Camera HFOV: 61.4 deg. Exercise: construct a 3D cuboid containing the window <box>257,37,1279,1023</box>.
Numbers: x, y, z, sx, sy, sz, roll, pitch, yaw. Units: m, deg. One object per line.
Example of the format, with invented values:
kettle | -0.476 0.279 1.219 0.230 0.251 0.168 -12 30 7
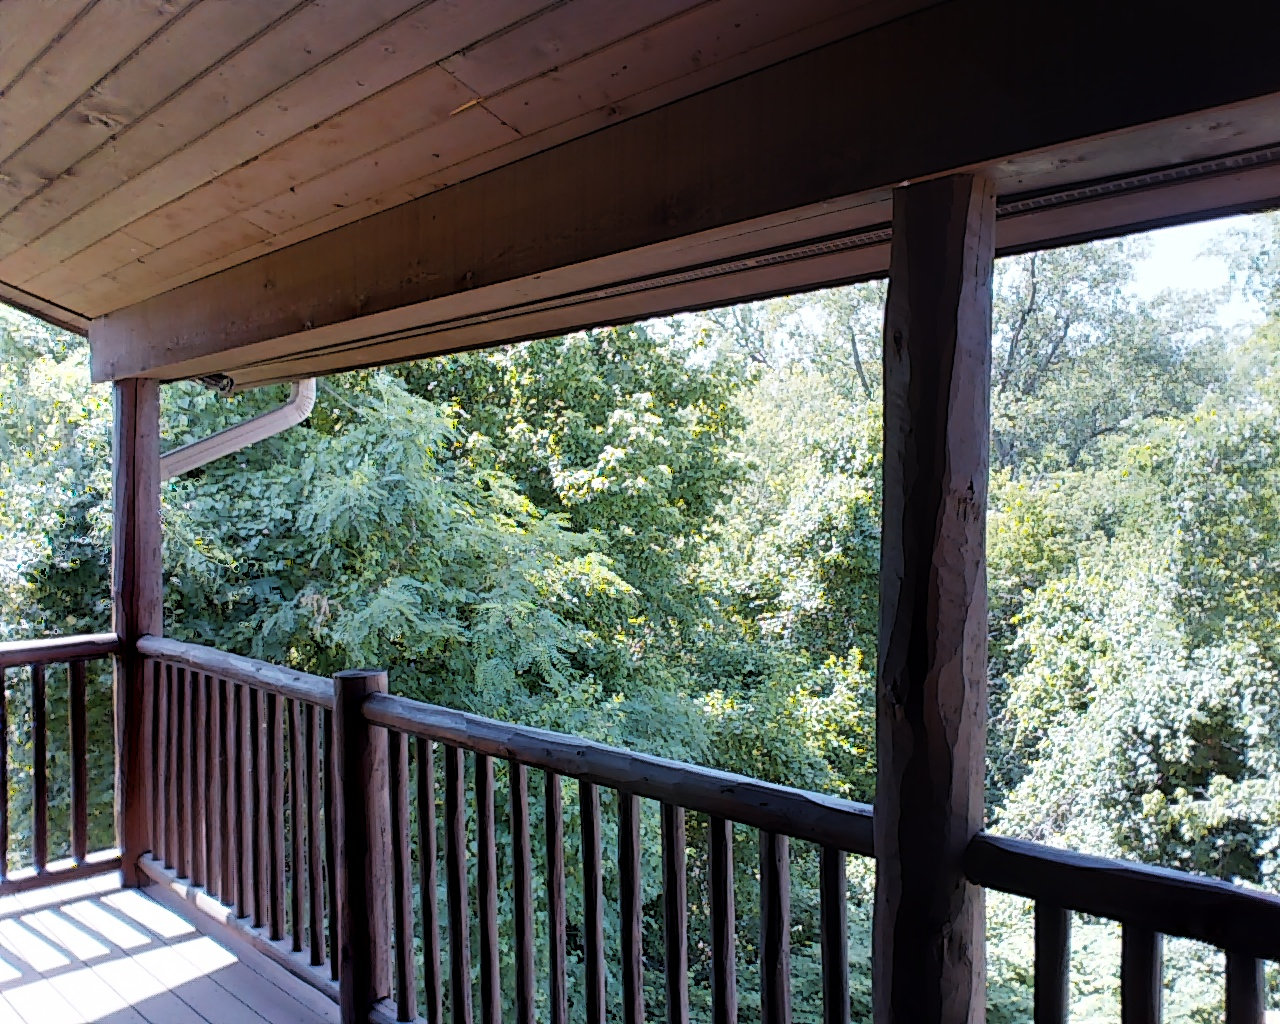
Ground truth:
window | 0.970 0.490 1.390 0.190 2.221 6.039 1 -1 -45
